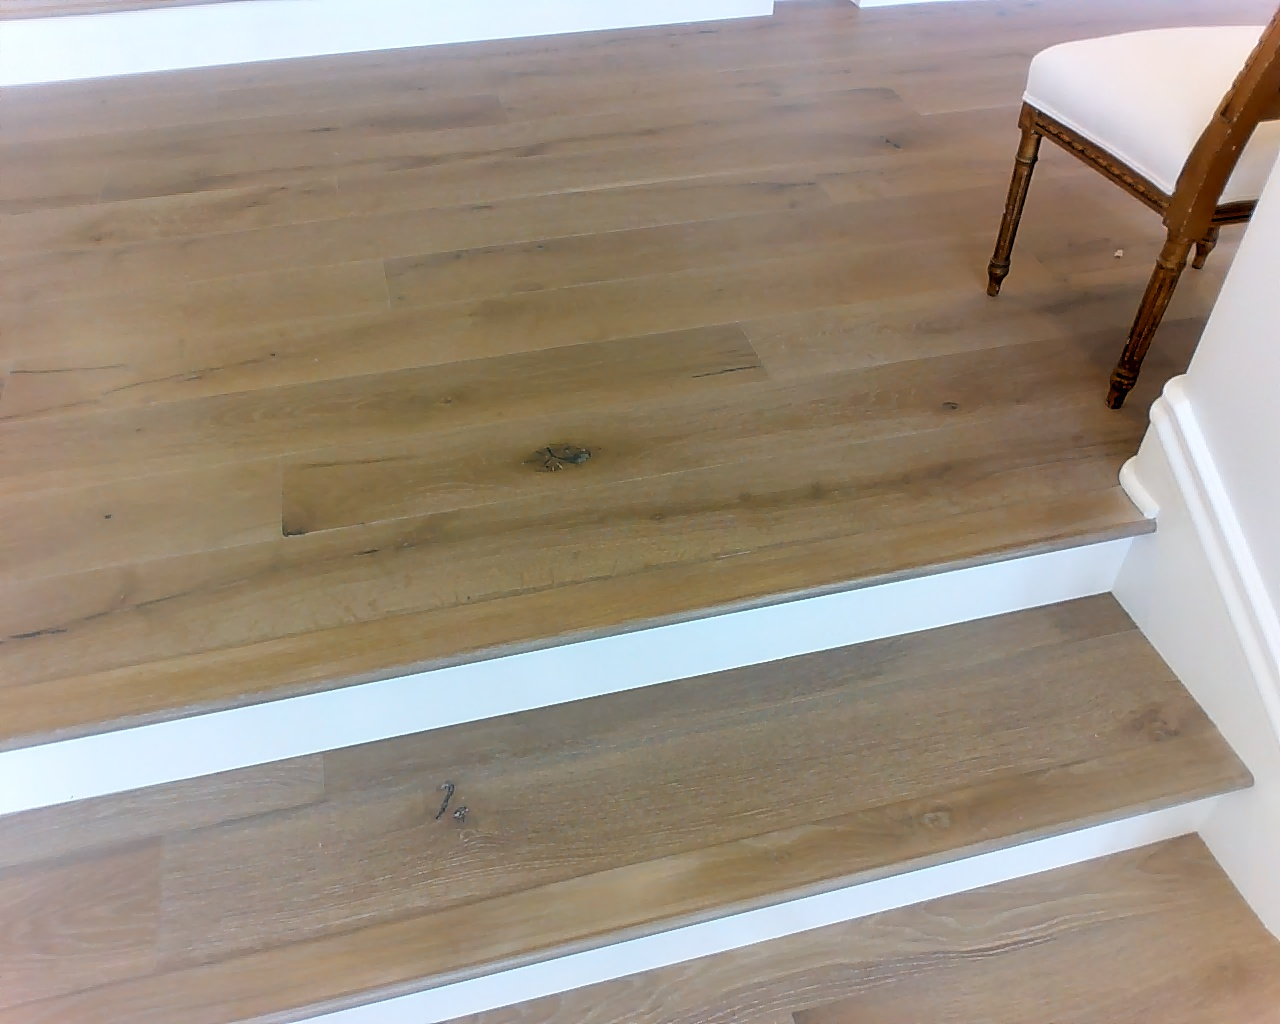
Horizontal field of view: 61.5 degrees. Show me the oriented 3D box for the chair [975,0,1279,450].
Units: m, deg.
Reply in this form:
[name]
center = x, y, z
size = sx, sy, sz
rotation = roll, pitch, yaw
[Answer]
[chair]
center = 0.950, -0.650, 1.610
size = 0.490, 0.900, 0.550
rotation = -10, 44, -11
